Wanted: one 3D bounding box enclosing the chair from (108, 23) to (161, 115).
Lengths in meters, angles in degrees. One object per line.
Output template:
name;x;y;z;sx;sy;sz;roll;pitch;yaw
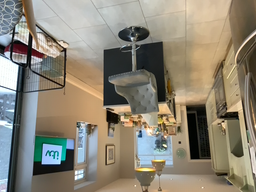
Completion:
chair;0.080;-0.310;2.790;0.440;1.030;0.530;-12;164;39

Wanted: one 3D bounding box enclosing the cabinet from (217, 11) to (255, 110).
cabinet;1.720;-0.380;2.980;0.580;0.930;1.410;-5;167;14

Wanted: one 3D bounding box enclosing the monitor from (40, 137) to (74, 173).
monitor;-1.120;0.940;3.430;0.050;0.510;0.670;-7;165;23

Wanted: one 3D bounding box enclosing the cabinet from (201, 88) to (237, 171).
cabinet;2.640;1.000;6.340;0.610;2.230;1.040;-5;167;14
